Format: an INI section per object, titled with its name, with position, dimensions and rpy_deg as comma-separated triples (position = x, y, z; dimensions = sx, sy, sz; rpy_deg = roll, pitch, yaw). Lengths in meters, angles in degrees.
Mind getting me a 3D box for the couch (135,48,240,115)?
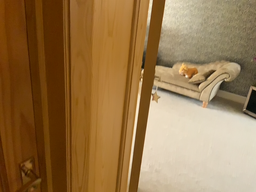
[couch]
position = 1.050, -0.360, 3.940
dimensions = 1.610, 0.710, 0.790
rpy_deg = 20, 26, 30
